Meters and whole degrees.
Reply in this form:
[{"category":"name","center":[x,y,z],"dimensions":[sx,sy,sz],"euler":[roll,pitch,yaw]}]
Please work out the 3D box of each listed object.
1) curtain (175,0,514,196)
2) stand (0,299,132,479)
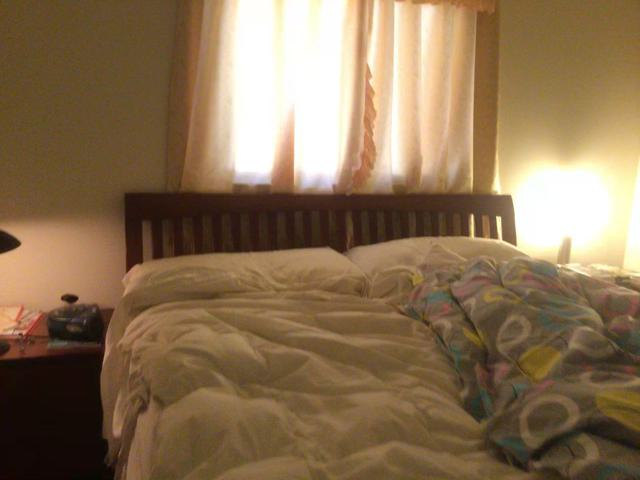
[{"category":"curtain","center":[0.140,-0.620,2.490],"dimensions":[1.460,0.830,0.210],"euler":[-2,10,-21]},{"category":"stand","center":[-1.010,0.600,2.110],"dimensions":[0.580,0.630,0.460],"euler":[-2,10,-21]}]
